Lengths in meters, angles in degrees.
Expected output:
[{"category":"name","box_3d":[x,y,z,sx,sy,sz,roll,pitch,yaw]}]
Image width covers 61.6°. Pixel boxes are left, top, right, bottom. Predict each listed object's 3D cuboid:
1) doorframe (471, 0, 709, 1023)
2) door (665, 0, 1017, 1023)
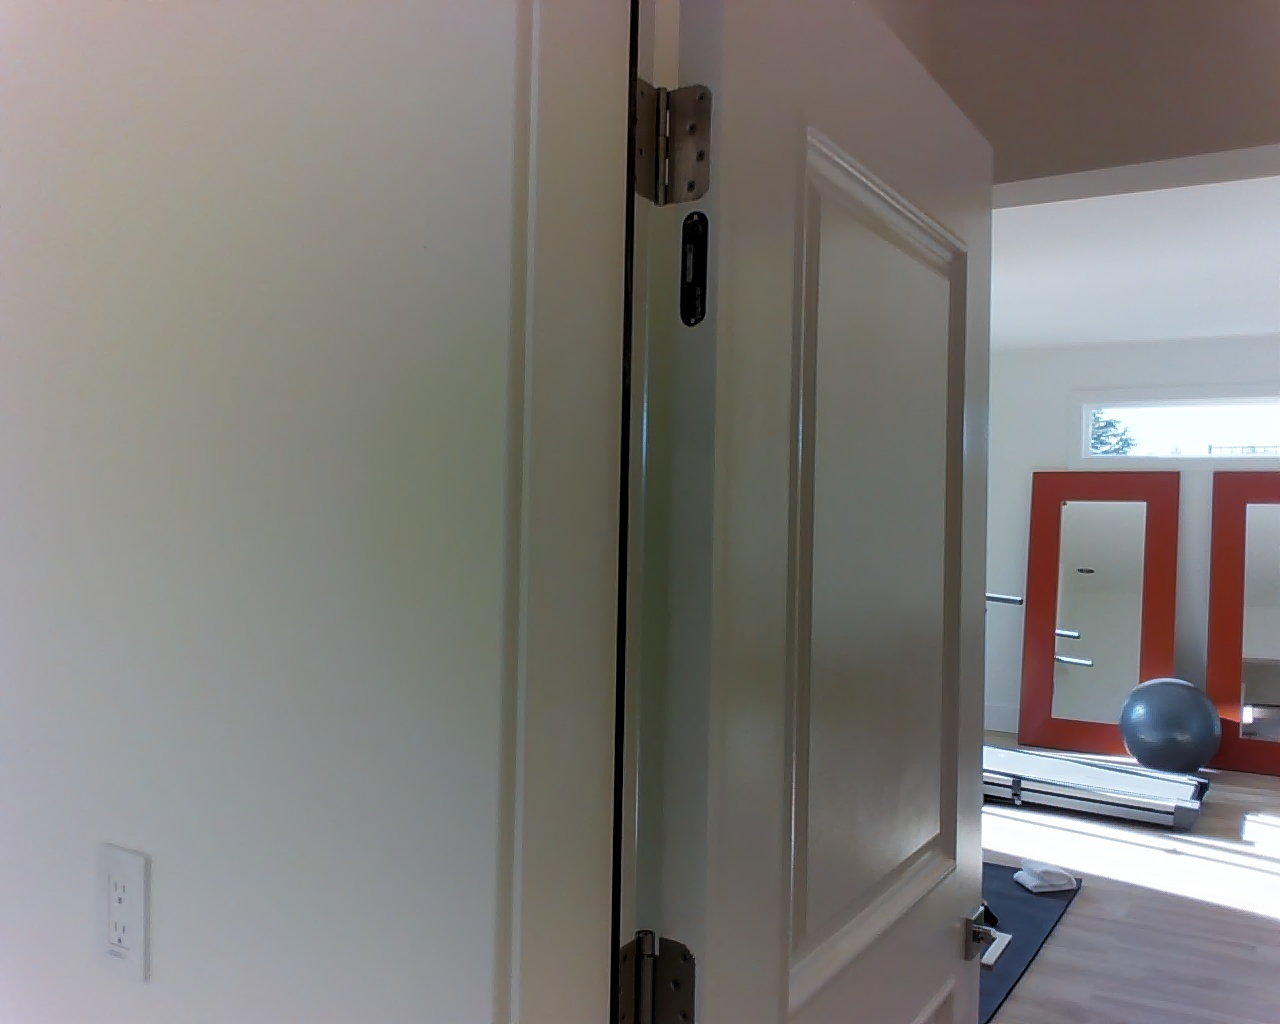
[{"category":"doorframe","box_3d":[-0.040,0.480,0.860,0.040,2.140,0.250,1,0,32]},{"category":"door","box_3d":[0.300,0.470,1.350,0.090,2.140,0.900,1,0,32]}]
